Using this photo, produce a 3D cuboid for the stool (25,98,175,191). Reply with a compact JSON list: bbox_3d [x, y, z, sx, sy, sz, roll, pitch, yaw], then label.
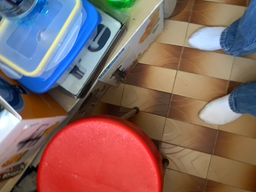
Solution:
[{"bbox_3d":[-0.050,0.200,0.670,0.290,0.410,0.310,16,91,9],"label":"stool"}]
